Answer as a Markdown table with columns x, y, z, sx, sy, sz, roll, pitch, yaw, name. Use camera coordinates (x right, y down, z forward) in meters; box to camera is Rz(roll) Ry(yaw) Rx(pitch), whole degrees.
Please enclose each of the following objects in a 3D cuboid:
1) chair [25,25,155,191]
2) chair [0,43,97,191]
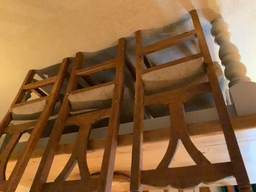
| x | y | z | sx | sy | sz | roll | pitch | yaw | name |
| --- | --- | --- | --- | --- | --- | --- | --- | --- | --- |
| -0.150 | 0.130 | 1.370 | 0.470 | 0.990 | 0.510 | -13 | 143 | 19 | chair |
| -0.610 | 0.210 | 1.510 | 0.470 | 0.980 | 0.520 | -13 | 143 | 19 | chair |
